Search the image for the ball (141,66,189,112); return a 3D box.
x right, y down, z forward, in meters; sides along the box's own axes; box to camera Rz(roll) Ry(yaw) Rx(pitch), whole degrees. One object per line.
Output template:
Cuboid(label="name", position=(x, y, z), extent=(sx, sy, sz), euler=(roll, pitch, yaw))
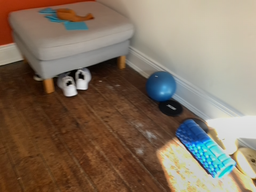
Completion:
Cuboid(label="ball", position=(0.270, -0.060, 1.580), extent=(0.250, 0.190, 0.220), euler=(-28, 49, -33))
